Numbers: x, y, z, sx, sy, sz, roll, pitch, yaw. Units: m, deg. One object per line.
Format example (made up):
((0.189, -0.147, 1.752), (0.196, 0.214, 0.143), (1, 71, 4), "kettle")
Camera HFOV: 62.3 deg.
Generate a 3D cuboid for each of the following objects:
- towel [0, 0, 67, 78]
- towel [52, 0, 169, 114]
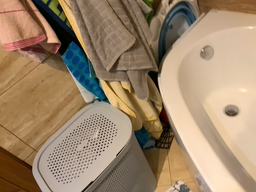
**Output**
((-0.410, -0.320, 0.570), (0.190, 0.540, 0.140), (-43, 47, -15), "towel")
((-0.070, -0.290, 0.760), (0.260, 0.810, 0.150), (-42, 47, -15), "towel")
